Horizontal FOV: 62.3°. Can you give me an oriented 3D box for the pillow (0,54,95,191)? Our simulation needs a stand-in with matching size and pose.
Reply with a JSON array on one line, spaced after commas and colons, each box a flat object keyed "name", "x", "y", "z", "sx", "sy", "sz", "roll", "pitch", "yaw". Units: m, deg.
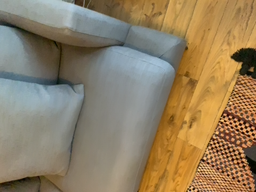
[{"name": "pillow", "x": -0.500, "y": 0.180, "z": 1.070, "sx": 0.170, "sy": 0.530, "sz": 0.570, "roll": 23, "pitch": 84, "yaw": 29}]

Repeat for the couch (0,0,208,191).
[{"name": "couch", "x": -0.520, "y": 0.620, "z": 1.380, "sx": 1.070, "sy": 0.820, "sz": 2.290, "roll": 25, "pitch": 109, "yaw": 27}]
